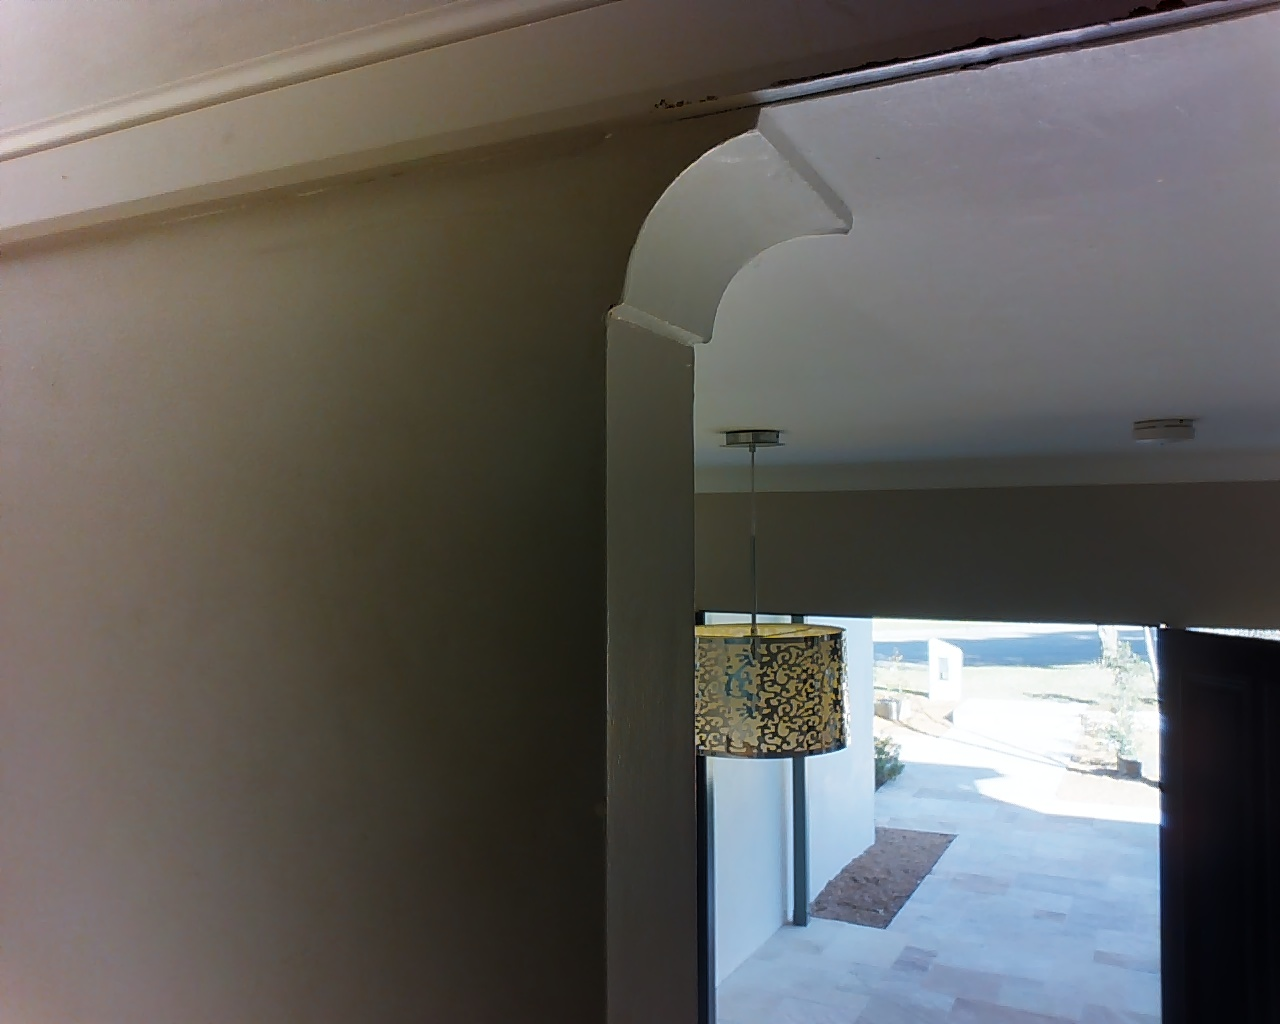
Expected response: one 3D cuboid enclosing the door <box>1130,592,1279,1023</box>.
[{"bbox_3d":[1.809,1.320,3.060,0.240,2.131,0.870,0,-1,-13],"label":"door"}]
